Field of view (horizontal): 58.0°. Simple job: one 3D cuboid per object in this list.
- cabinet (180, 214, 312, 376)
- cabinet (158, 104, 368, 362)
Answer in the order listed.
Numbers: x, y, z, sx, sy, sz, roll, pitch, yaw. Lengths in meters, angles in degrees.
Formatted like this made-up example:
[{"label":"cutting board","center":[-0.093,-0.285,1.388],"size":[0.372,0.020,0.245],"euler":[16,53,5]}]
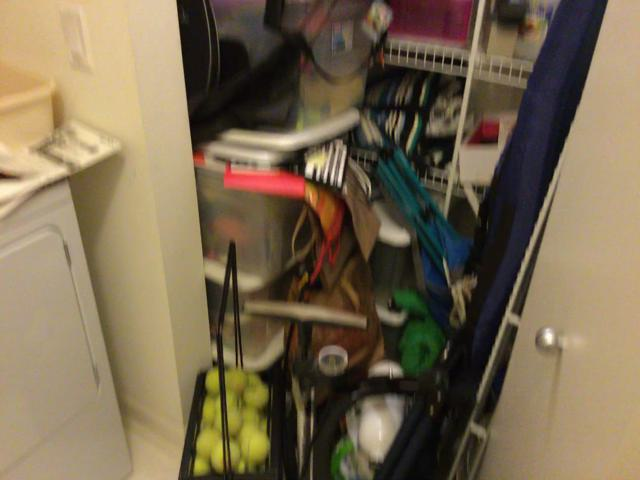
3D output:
[{"label":"cabinet","center":[-0.190,0.140,1.590],"size":[0.220,0.290,0.280],"euler":[18,35,25]},{"label":"cabinet","center":[-0.120,-0.040,1.450],"size":[0.300,0.450,0.410],"euler":[18,35,25]}]
